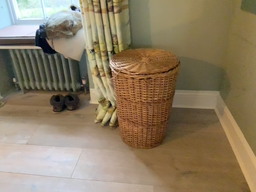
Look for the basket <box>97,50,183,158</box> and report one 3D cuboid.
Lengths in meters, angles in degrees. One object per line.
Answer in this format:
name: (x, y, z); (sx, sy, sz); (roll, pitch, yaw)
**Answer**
basket: (0.090, 0.030, 1.390); (0.440, 0.550, 0.420); (3, 29, 8)
